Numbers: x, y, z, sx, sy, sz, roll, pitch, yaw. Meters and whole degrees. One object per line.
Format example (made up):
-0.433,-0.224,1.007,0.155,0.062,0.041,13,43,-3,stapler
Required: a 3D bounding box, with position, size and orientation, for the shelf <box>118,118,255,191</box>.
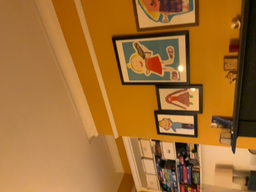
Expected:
0.880,0.990,3.200,0.300,1.860,1.290,-61,-34,-50,shelf
